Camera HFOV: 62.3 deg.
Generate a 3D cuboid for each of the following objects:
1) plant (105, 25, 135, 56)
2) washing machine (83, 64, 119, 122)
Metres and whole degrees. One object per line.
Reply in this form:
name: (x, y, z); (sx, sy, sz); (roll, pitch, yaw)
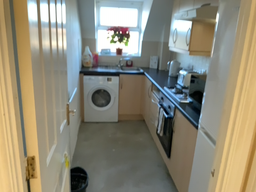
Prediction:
plant: (-0.170, -1.070, 4.080); (0.530, 0.520, 0.310); (1, 17, -8)
washing machine: (-0.510, -0.070, 3.950); (0.600, 0.930, 0.650); (1, 17, -8)
